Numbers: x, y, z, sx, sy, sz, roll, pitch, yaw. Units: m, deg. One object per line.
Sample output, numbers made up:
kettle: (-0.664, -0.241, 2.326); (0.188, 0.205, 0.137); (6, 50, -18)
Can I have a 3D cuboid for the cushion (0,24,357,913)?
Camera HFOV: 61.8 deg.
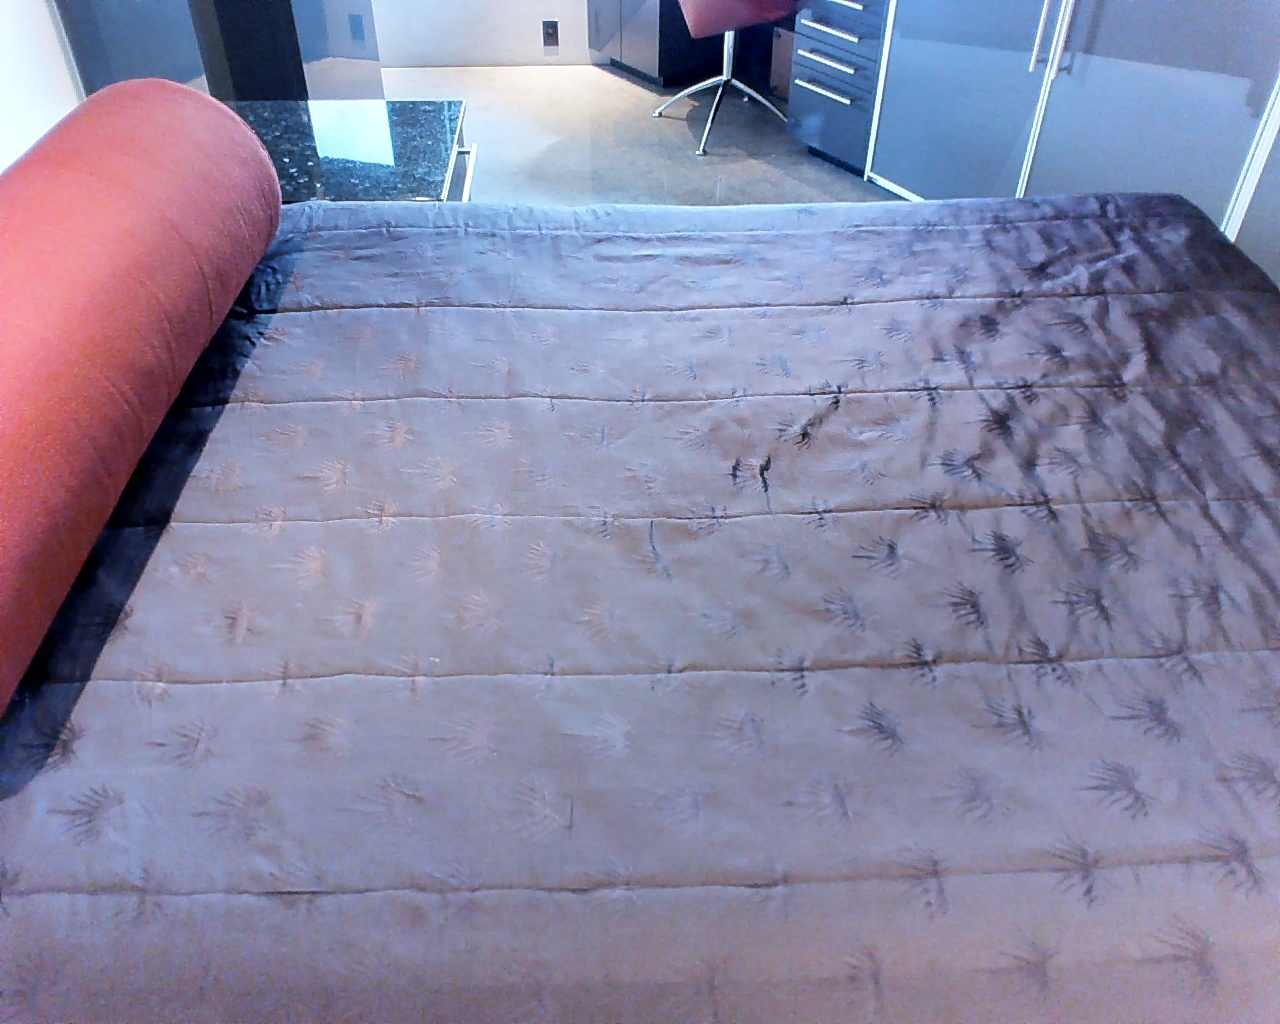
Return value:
cushion: (-0.700, -0.210, 1.300); (0.350, 0.320, 1.300); (1, 42, 2)
